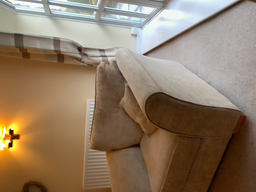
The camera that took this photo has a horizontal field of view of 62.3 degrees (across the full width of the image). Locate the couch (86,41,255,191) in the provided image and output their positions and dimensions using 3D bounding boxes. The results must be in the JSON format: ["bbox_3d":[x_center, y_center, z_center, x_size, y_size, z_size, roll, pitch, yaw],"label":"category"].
[{"bbox_3d":[0.140,0.290,1.790,1.020,0.830,1.170,-116,33,-60],"label":"couch"}]

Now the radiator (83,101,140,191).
[{"bbox_3d":[-0.240,0.760,3.280,0.070,0.820,1.340,180,93,-74],"label":"radiator"}]
